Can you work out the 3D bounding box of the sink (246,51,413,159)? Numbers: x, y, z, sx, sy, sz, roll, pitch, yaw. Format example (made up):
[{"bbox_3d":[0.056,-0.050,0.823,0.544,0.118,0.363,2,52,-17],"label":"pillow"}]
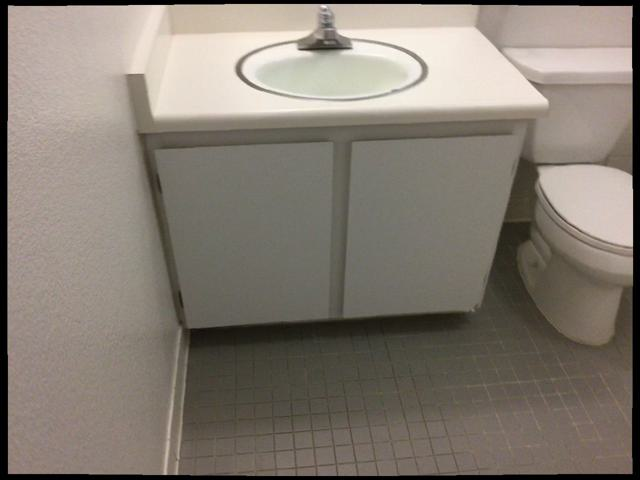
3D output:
[{"bbox_3d":[0.010,-0.371,1.550,0.399,0.160,0.290,-3,40,-6],"label":"sink"}]
